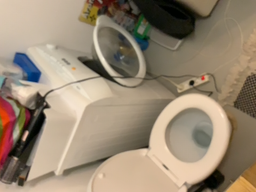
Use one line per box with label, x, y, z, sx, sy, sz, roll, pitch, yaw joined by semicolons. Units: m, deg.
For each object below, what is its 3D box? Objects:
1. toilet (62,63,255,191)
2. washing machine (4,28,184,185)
toilet;0.220;0.250;1.100;0.390;0.840;0.620;41;114;31
washing machine;-0.190;0.030;1.410;0.620;0.860;0.540;39;113;32
